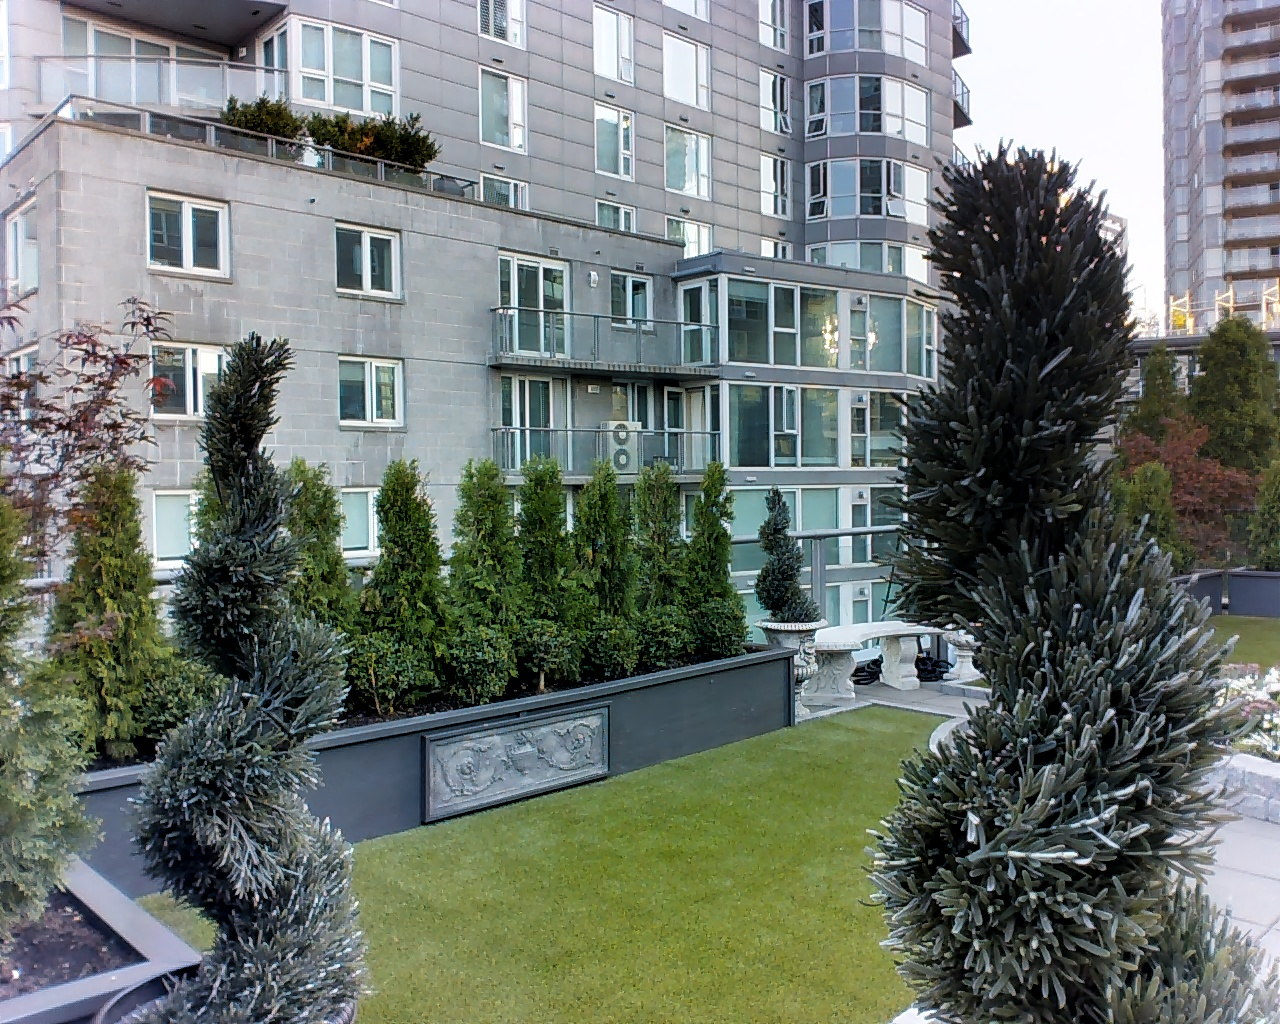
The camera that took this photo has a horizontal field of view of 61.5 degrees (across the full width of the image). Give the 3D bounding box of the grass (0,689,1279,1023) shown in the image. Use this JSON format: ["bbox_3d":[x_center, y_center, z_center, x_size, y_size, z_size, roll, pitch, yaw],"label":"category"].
[{"bbox_3d":[0.320,1.290,4.320,5.179,0.120,2.780,-2,1,-42],"label":"grass"}]

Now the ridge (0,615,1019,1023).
[{"bbox_3d":[-0.500,1.030,4.660,4.419,0.630,2.180,-2,1,-42],"label":"ridge"}]
